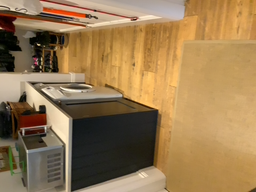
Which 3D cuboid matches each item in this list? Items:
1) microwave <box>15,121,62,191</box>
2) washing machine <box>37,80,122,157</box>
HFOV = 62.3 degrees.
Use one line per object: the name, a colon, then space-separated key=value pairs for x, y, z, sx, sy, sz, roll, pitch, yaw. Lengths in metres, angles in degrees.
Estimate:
microwave: x=-0.780 y=0.490 z=1.820 sx=0.500 sy=0.270 sz=0.400 roll=19 pitch=109 yaw=54
washing machine: x=-0.630 y=0.210 z=2.710 sx=0.620 sy=0.870 sz=0.740 roll=19 pitch=109 yaw=54
